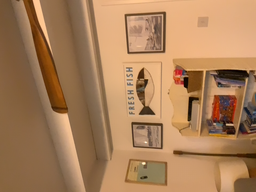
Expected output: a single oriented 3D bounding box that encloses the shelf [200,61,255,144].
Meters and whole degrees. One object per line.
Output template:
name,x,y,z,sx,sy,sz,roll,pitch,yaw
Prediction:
shelf,1.290,0.080,2.040,0.230,1.050,0.800,-72,-20,-60
